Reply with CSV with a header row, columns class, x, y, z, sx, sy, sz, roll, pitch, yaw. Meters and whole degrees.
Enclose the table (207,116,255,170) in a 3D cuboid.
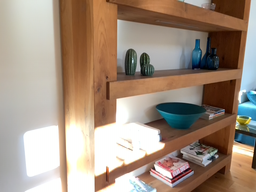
class,x,y,z,sx,sy,sz,roll,pitch,yaw
table,1.550,0.630,3.030,0.500,0.490,0.590,-10,17,-44
